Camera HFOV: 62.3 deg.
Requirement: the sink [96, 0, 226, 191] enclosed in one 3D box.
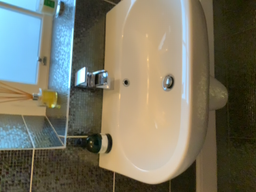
[{"bbox_3d":[0.080,-0.060,0.770,0.450,0.170,0.660,-10,76,54],"label":"sink"}]
